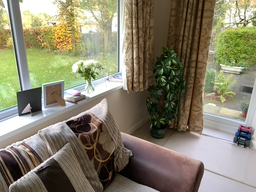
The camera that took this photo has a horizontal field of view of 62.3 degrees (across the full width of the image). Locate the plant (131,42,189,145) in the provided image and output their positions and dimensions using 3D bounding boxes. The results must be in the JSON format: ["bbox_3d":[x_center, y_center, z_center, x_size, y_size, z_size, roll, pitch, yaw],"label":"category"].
[{"bbox_3d":[0.380,-0.050,2.670,0.470,1.140,0.440,16,25,32],"label":"plant"}]
